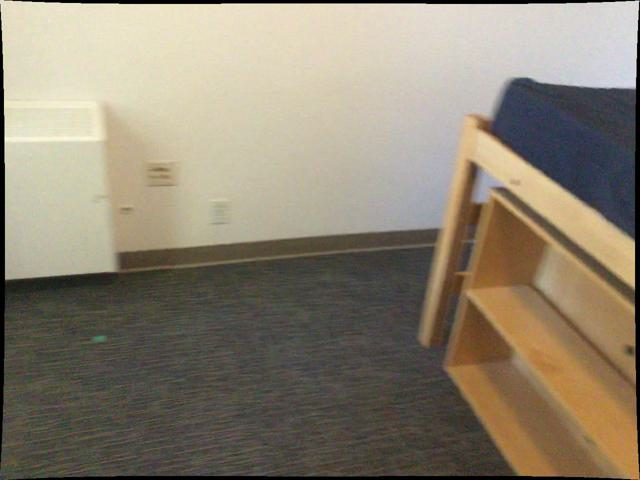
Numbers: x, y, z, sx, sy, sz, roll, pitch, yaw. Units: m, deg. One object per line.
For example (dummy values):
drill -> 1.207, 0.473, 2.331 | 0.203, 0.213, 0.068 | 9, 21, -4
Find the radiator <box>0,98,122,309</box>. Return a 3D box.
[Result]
radiator -> -1.248, -0.110, 2.090 | 0.949, 0.761, 0.210 | -4, 34, -18

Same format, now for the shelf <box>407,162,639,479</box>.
shelf -> 1.038, 0.351, 1.810 | 1.029, 0.801, 1.010 | -6, 35, -21
